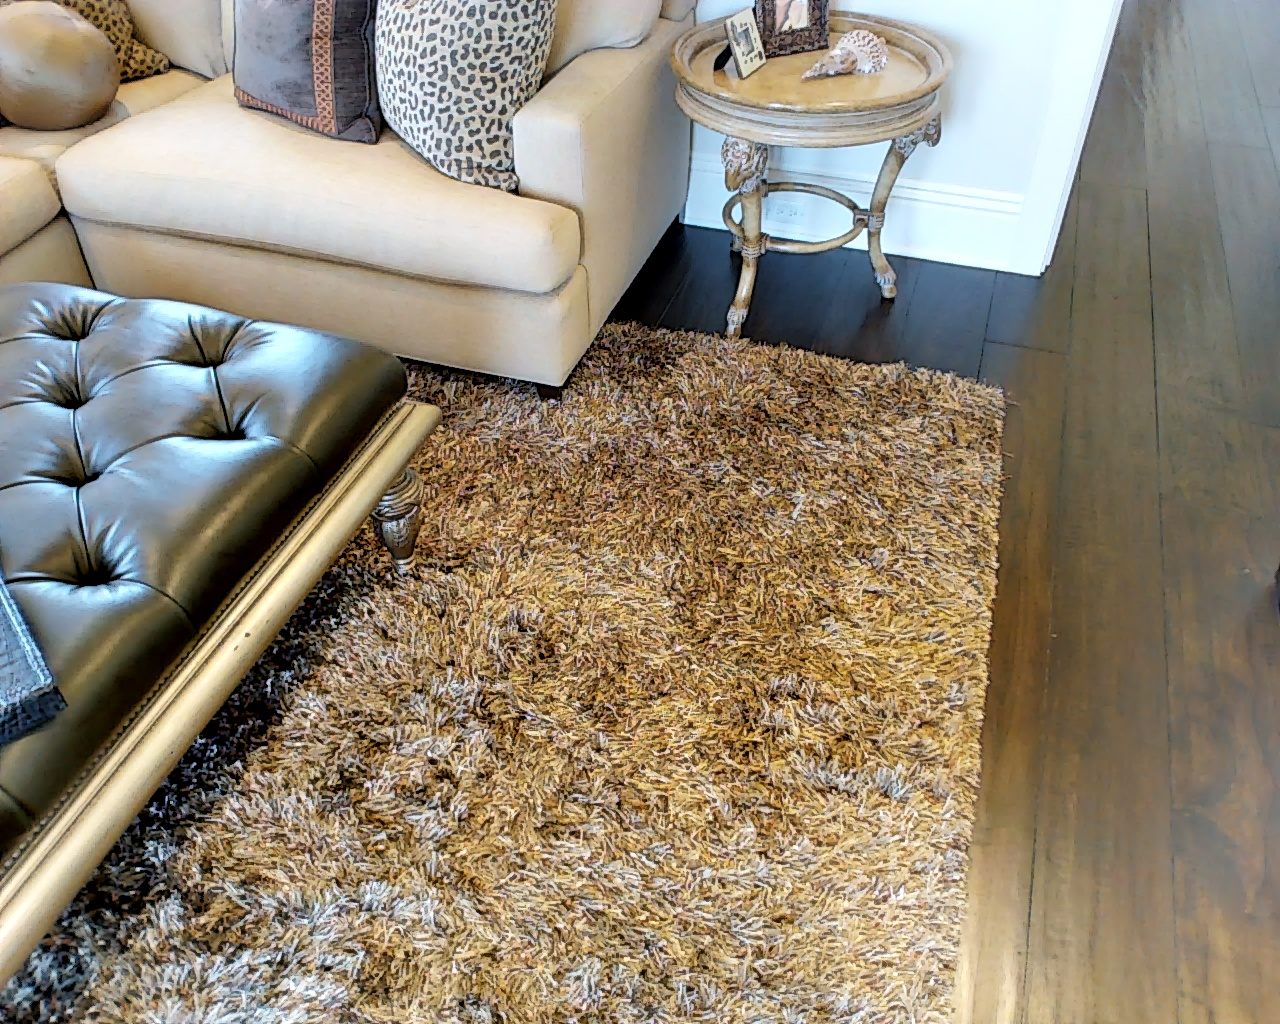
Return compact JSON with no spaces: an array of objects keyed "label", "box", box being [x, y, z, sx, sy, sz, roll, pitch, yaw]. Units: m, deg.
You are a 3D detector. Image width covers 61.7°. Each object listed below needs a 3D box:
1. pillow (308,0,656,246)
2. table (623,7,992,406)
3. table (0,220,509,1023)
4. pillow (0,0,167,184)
[{"label":"pillow","box":[-0.350,-1.030,2.360,0.460,0.570,0.630,-32,50,-31]},{"label":"table","box":[0.420,-0.800,2.730,0.730,0.660,0.690,13,43,14]},{"label":"table","box":[-0.950,0.190,1.610,0.980,0.560,1.370,13,43,14]},{"label":"pillow","box":[-1.390,-1.040,2.590,0.360,0.320,0.360,-10,42,-11]}]
